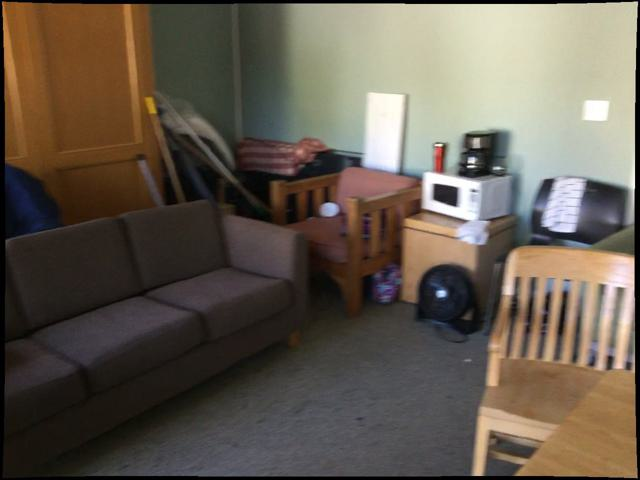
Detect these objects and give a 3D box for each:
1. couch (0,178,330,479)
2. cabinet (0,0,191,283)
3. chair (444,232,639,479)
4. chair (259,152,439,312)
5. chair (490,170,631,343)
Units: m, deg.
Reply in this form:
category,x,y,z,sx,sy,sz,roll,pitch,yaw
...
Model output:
category,x,y,z,sx,sy,sz,roll,pitch,yaw
couch,-0.939,0.330,2.560,0.900,0.731,1.929,17,27,40
cabinet,-1.628,-0.761,3.180,0.530,1.762,1.639,17,27,40
chair,0.799,0.480,1.950,0.629,0.781,0.690,6,21,19
chair,0.190,-0.110,3.780,0.820,0.711,0.790,17,27,40
chair,1.289,0.060,3.130,0.470,0.741,0.490,17,27,40
